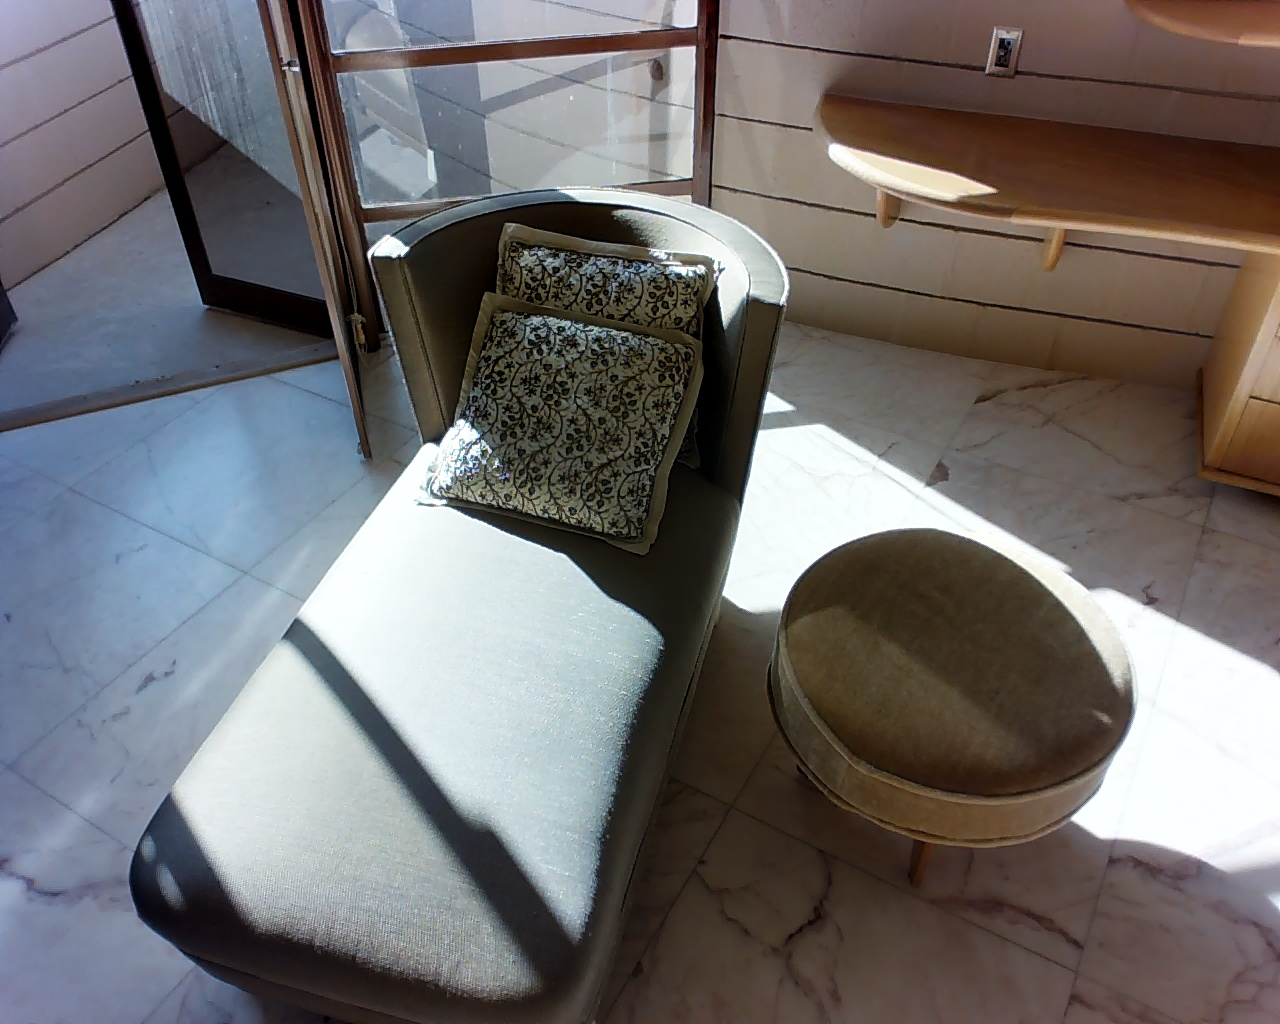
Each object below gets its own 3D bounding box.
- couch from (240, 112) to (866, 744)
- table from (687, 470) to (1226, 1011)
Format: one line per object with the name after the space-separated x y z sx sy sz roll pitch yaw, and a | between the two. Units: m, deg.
-0.080 -0.200 2.130 0.890 0.830 0.820 8 42 10 | couch
0.520 0.340 1.810 0.700 0.400 0.570 18 44 20 | table
